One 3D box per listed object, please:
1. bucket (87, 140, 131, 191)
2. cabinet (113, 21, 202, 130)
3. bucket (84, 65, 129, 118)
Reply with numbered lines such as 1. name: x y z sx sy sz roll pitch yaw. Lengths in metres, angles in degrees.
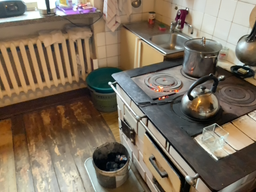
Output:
1. bucket: -0.150 0.550 1.680 0.240 0.190 0.280 -18 39 -25
2. cabinet: 0.240 -0.270 2.330 0.480 0.810 0.860 -16 38 -23
3. bucket: -0.250 -0.070 2.450 0.350 0.360 0.490 -14 37 -20
